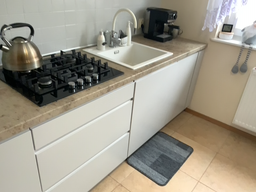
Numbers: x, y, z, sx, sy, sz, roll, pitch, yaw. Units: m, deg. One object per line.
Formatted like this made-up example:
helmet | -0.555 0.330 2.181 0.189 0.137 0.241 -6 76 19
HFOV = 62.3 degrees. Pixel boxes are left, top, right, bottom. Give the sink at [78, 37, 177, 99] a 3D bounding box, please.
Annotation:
sink | 0.000 -0.280 1.790 0.580 0.230 0.580 25 34 31

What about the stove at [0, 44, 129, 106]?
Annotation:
stove | -0.410 -0.180 1.300 0.580 0.040 0.610 25 34 31
